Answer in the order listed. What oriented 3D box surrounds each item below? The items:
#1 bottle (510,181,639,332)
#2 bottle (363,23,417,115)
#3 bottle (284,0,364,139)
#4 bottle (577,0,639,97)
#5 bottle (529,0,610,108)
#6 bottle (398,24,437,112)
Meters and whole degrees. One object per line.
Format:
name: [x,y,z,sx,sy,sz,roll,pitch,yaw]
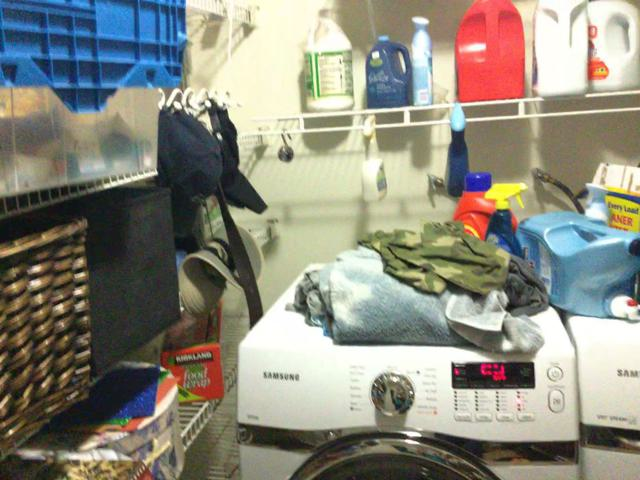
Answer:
bottle: [0.570,0.020,1.300,0.240,0.250,0.340,0,14,13]
bottle: [0.220,-0.520,1.780,0.140,0.250,0.170,0,14,13]
bottle: [0.020,-0.530,1.830,0.200,0.390,0.170,0,14,13]
bottle: [0.790,-0.530,1.530,0.160,0.280,0.180,0,14,13]
bottle: [0.640,-0.520,1.500,0.160,0.330,0.160,0,14,13]
bottle: [0.290,-0.500,1.700,0.100,0.230,0.170,0,14,13]
